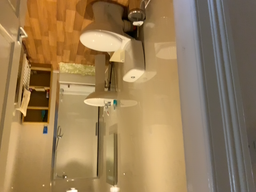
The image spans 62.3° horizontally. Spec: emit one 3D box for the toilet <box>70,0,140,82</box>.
[{"bbox_3d":[-0.250,-0.590,2.220,0.630,0.770,0.390,3,166,-18],"label":"toilet"}]
